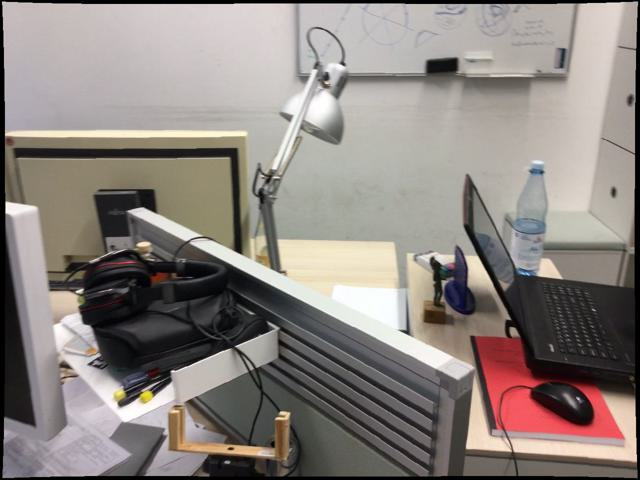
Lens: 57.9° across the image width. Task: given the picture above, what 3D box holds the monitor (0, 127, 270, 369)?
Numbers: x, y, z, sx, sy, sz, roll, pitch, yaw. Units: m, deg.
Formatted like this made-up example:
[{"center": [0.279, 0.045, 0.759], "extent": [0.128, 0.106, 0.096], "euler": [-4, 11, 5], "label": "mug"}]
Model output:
[{"center": [-0.529, 0.010, 1.400], "extent": [0.749, 0.490, 0.310], "euler": [0, 24, 3], "label": "monitor"}]

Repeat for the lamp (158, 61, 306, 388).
[{"center": [-0.160, -0.060, 1.330], "extent": [0.200, 0.621, 0.460], "euler": [0, 24, 3], "label": "lamp"}]

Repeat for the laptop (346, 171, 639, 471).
[{"center": [0.370, 0.100, 1.140], "extent": [0.530, 0.300, 0.550], "euler": [5, 24, 14], "label": "laptop"}]
